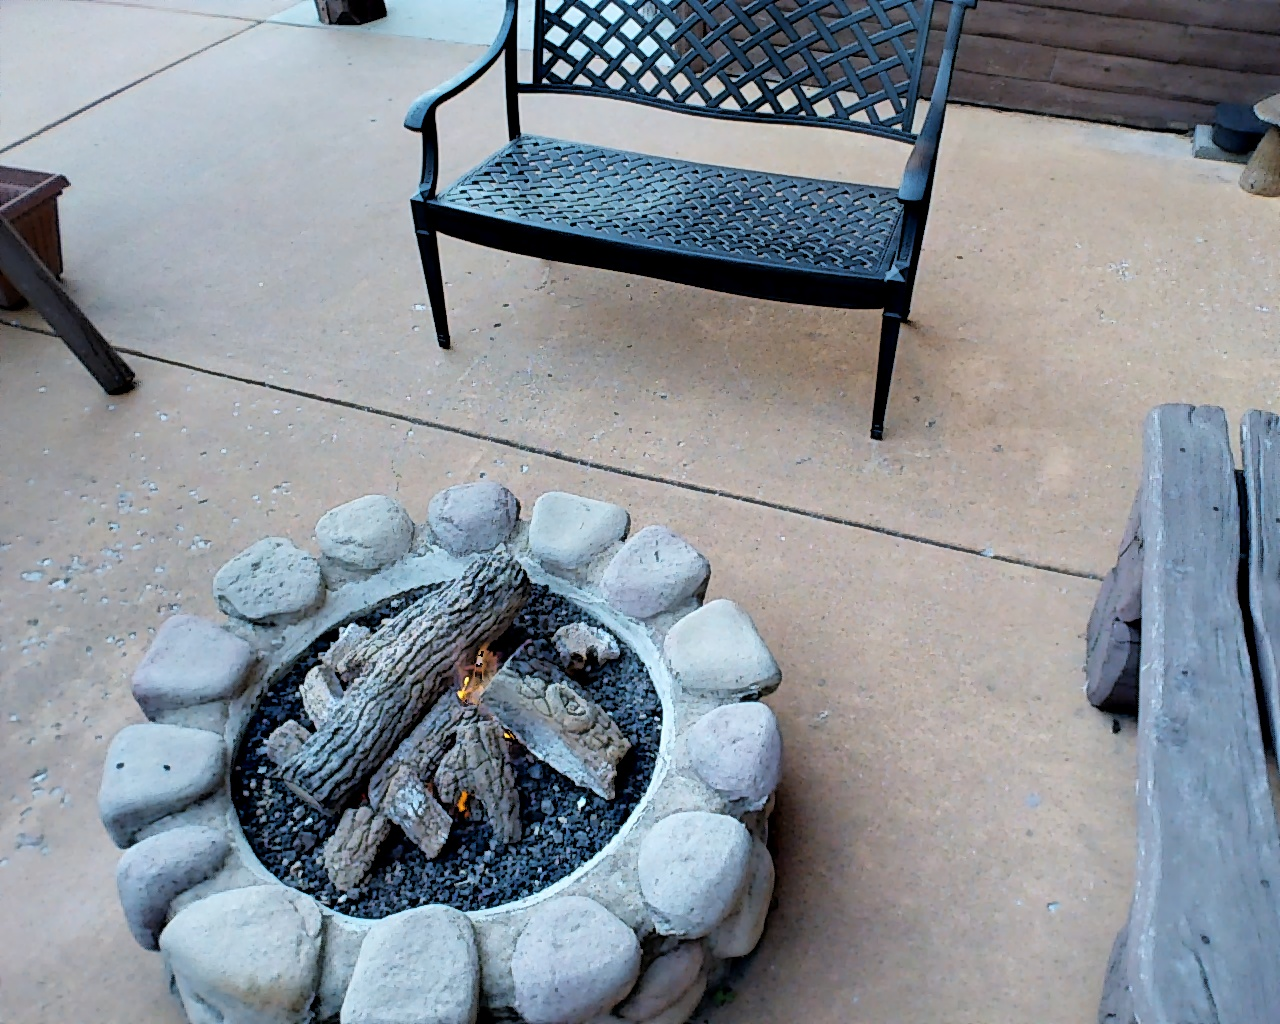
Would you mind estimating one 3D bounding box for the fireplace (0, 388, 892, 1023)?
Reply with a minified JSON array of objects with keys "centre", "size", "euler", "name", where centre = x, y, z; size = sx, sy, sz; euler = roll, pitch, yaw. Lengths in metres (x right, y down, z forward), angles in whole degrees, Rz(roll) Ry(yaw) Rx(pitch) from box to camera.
[{"centre":[-0.280,0.370,1.680],"size":[1.080,0.400,1.080],"euler":[14,43,16],"name":"fireplace"}]
